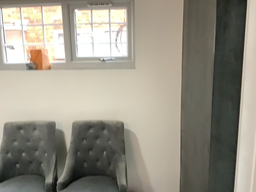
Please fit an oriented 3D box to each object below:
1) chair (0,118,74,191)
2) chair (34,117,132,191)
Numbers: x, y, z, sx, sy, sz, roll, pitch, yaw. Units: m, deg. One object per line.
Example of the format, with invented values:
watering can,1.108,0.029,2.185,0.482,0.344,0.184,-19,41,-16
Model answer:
chair,-0.870,0.740,1.790,0.590,0.960,0.680,-1,10,4
chair,-0.280,0.730,1.760,0.590,0.950,0.670,-1,10,4
